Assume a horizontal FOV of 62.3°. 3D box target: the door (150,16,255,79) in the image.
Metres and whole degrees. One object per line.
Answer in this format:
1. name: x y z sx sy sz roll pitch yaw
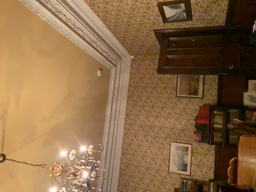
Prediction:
1. door: 1.610 -0.910 3.980 0.160 2.260 1.180 47 -131 -63
